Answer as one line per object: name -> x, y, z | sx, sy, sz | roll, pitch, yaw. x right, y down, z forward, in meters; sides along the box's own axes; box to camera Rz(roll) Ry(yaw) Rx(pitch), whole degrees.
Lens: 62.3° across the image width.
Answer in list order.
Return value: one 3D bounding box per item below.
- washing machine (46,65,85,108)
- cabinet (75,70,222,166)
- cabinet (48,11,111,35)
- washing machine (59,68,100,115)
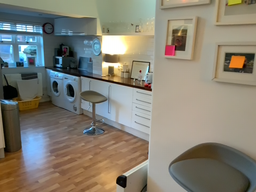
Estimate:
washing machine -> -1.560, -0.270, 5.300 | 0.650, 0.910, 0.670 | 15, 18, 42
cabinet -> 0.110, 0.160, 3.760 | 2.700, 0.900, 0.650 | 15, 18, 42
cabinet -> -1.170, -1.610, 4.820 | 1.850, 0.400, 0.420 | 15, 18, 42
washing machine -> -1.100, -0.140, 4.870 | 0.630, 0.890, 0.670 | 15, 18, 42
